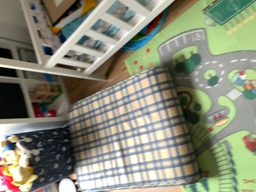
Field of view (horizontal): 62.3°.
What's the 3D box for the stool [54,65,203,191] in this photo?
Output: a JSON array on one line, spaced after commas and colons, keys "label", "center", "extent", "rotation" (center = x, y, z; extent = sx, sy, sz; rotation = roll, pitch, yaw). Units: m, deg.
[{"label": "stool", "center": [-0.100, 0.300, 1.520], "extent": [1.060, 0.170, 0.680], "rotation": [-19, 76, 33]}]
